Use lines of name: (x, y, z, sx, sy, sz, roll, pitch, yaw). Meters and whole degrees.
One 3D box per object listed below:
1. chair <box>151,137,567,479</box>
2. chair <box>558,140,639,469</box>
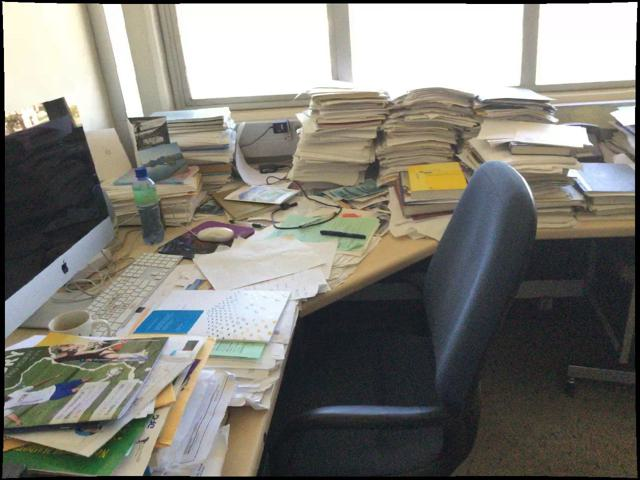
chair: (0.110, 0.371, 1.370, 0.628, 1.062, 0.620, -1, 24, 6)
chair: (1.187, 0.190, 1.830, 0.688, 0.852, 0.650, 4, 26, 18)
